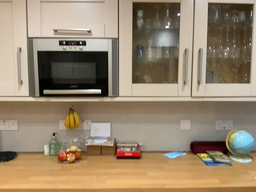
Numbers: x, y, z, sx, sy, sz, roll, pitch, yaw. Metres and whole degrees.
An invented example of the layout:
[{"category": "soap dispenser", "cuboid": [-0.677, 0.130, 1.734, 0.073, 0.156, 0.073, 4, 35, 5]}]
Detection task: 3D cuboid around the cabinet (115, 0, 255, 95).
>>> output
[{"category": "cabinet", "cuboid": [0.410, -0.380, 1.640, 1.010, 0.720, 0.330, 0, 5, -2]}]
